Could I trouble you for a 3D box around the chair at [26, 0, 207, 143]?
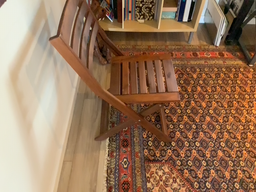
[{"bbox_3d":[-0.050,-0.140,1.230,0.660,0.790,0.490,1,50,-1],"label":"chair"}]
